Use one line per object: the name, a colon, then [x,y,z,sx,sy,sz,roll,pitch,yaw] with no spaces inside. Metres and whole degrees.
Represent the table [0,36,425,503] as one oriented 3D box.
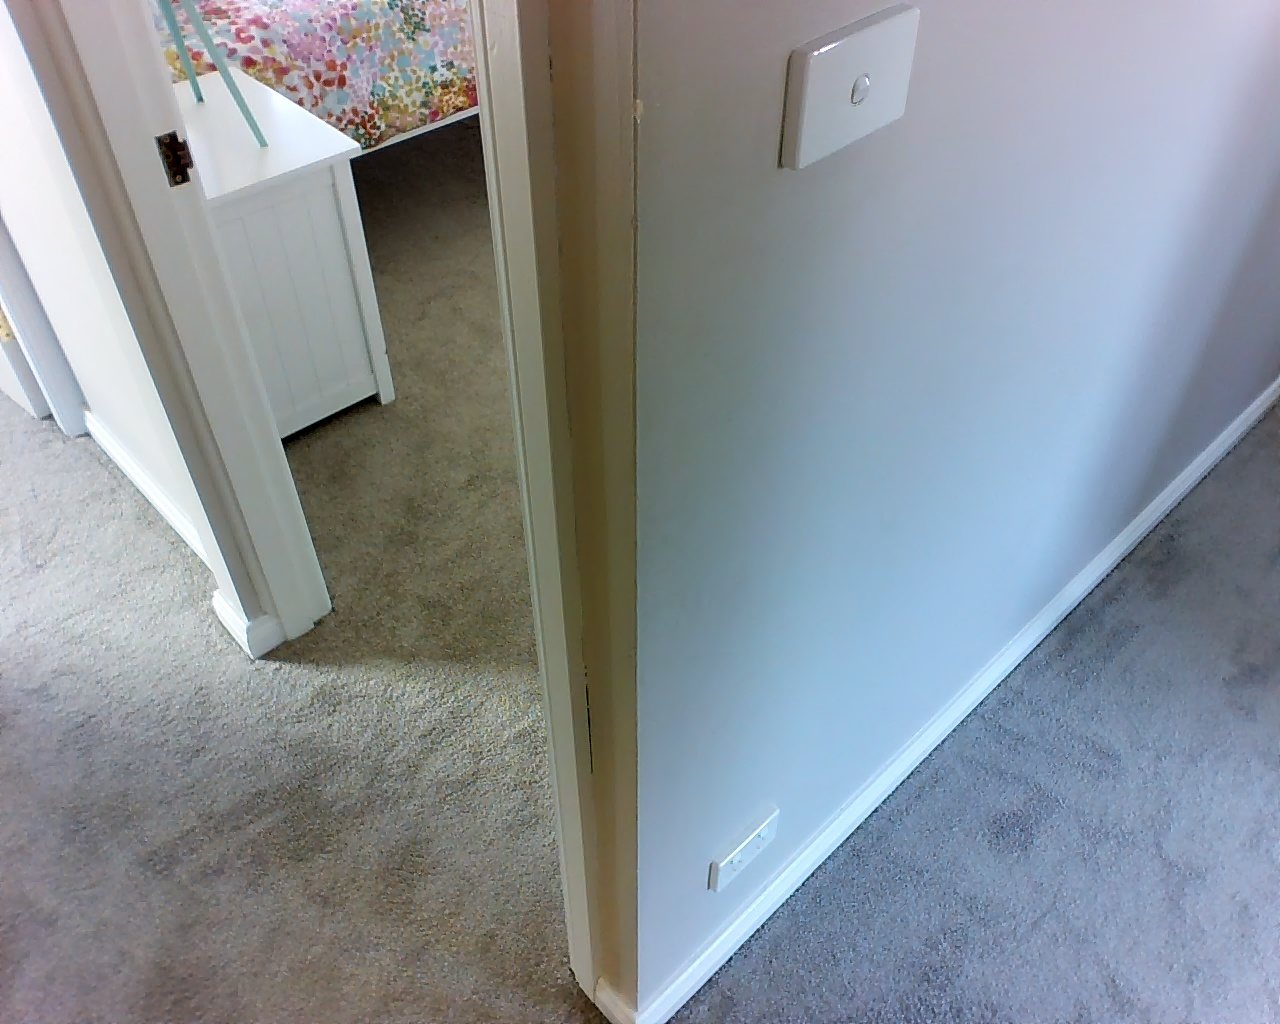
table: [-0.890,-0.530,2.290,0.500,0.660,0.610,-33,53,-29]
